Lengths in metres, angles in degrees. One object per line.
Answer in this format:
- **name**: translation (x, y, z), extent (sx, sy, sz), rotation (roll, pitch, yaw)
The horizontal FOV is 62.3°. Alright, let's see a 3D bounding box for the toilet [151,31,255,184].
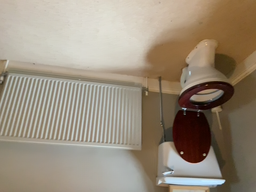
- **toilet**: translation (0.560, 0.150, 1.690), extent (0.560, 0.980, 0.730), rotation (5, 155, -8)
